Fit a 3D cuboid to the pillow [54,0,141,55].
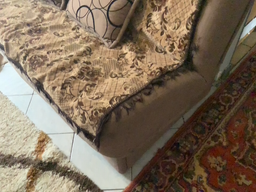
[{"bbox_3d":[-0.200,-0.510,1.240,0.520,0.350,0.150,32,31,29],"label":"pillow"}]
